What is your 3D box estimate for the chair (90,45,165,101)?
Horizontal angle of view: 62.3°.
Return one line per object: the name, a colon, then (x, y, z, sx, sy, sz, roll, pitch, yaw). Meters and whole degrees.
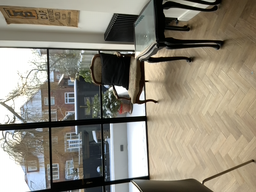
chair: (-0.060, -0.350, 2.940, 0.720, 0.820, 0.570, -126, 38, -62)
